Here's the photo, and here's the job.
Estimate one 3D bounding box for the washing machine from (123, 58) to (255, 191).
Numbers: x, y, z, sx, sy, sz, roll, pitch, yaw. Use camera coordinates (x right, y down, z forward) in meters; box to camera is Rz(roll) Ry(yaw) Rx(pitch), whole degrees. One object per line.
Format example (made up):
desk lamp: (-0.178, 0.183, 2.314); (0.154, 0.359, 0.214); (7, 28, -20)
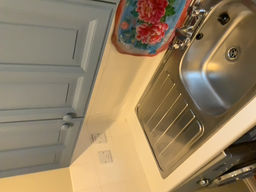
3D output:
washing machine: (0.560, 0.200, 1.430); (0.610, 0.900, 0.600); (67, 146, 36)

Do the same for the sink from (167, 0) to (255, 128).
sink: (0.420, -0.170, 0.880); (0.400, 0.180, 0.450); (67, 146, 36)
